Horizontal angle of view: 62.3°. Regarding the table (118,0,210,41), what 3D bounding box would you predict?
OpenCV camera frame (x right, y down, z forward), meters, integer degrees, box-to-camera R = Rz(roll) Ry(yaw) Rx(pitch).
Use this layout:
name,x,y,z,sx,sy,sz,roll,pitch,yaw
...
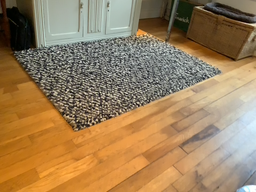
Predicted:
name,x,y,z,sx,sy,sz,roll,pitch,yaw
table,0.550,-1.420,3.250,0.940,0.720,0.940,-20,45,-36
